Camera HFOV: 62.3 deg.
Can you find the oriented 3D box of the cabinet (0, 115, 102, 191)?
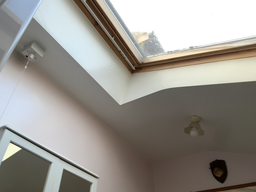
[{"bbox_3d":[-0.410,0.520,1.020,0.130,0.540,0.740,-20,-45,22],"label":"cabinet"}]
